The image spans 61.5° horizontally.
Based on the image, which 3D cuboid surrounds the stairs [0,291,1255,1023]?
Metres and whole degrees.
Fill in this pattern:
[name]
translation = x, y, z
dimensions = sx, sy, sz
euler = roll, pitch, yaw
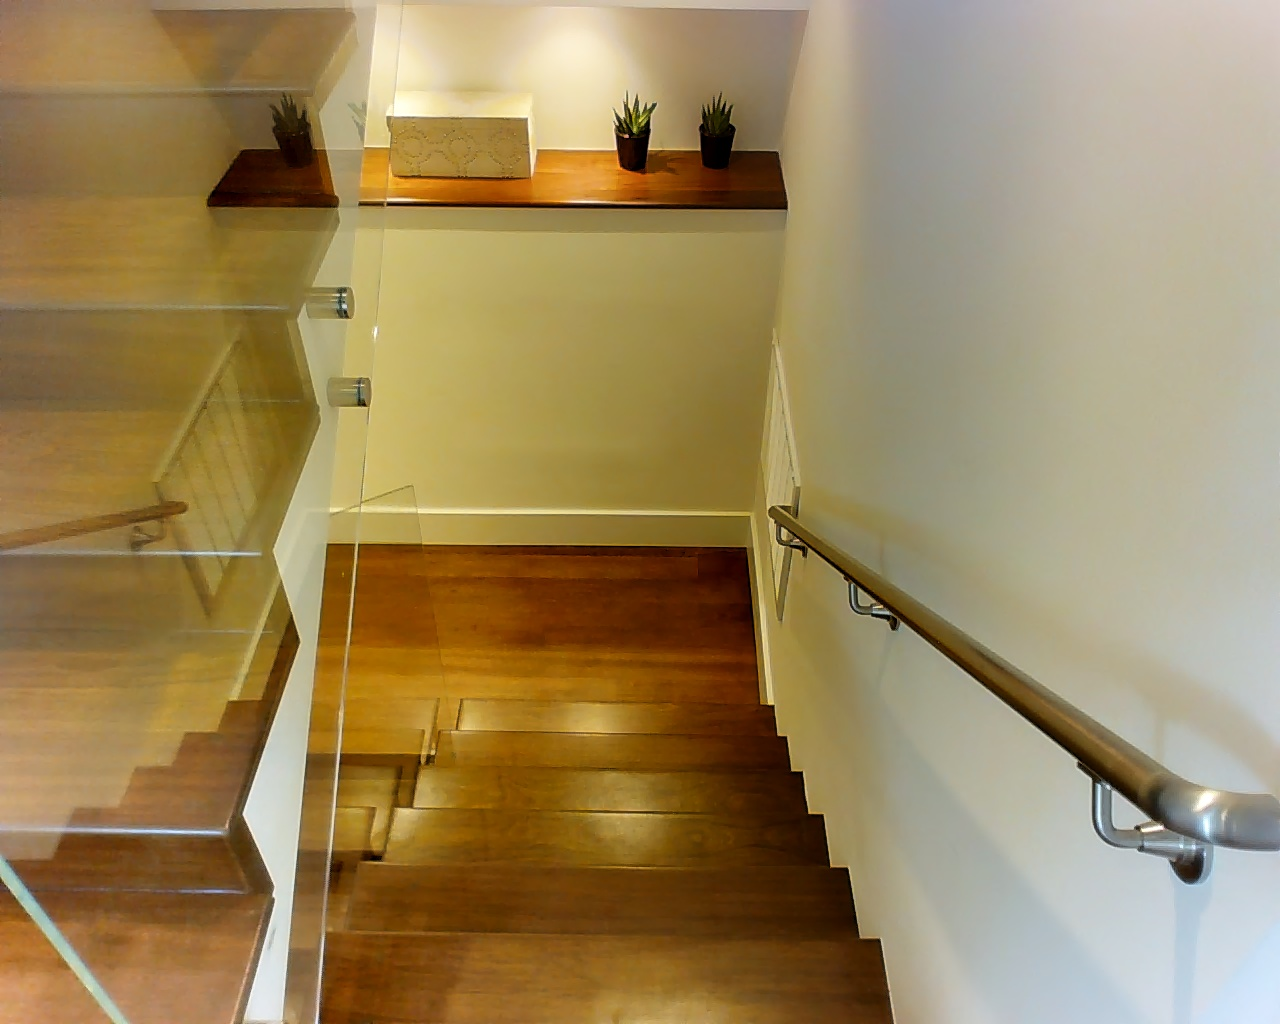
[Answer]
[stairs]
translation = -0.530, 1.150, 3.590
dimensions = 3.140, 3.050, 2.040
euler = 1, 42, 1
